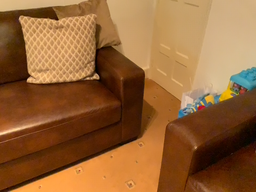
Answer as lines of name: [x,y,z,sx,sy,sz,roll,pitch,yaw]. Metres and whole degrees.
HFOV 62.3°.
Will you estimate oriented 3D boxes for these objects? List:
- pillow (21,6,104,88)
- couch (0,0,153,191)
pillow: [-0.450,-0.310,1.440,0.440,0.430,0.160,8,29,-26]
couch: [-0.990,0.010,1.290,2.040,0.900,0.920,-16,38,-26]
